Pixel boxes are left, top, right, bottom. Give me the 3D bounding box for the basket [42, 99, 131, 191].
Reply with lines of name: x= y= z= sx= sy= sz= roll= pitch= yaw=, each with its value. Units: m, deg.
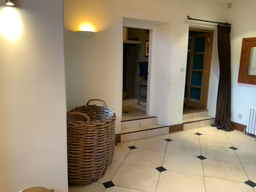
basket: x=-0.650 y=0.580 z=3.110 sx=0.920 sy=0.830 sz=1.110 roll=-4 pitch=12 yaw=-31
